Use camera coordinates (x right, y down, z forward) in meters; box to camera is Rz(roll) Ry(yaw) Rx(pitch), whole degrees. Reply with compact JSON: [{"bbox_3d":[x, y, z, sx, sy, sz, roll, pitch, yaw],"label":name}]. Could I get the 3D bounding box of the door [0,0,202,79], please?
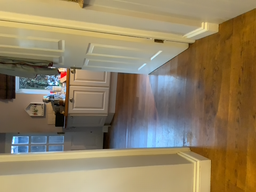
[{"bbox_3d":[-0.560,-0.400,1.780,0.990,2.050,0.090,140,130,-67],"label":"door"}]
